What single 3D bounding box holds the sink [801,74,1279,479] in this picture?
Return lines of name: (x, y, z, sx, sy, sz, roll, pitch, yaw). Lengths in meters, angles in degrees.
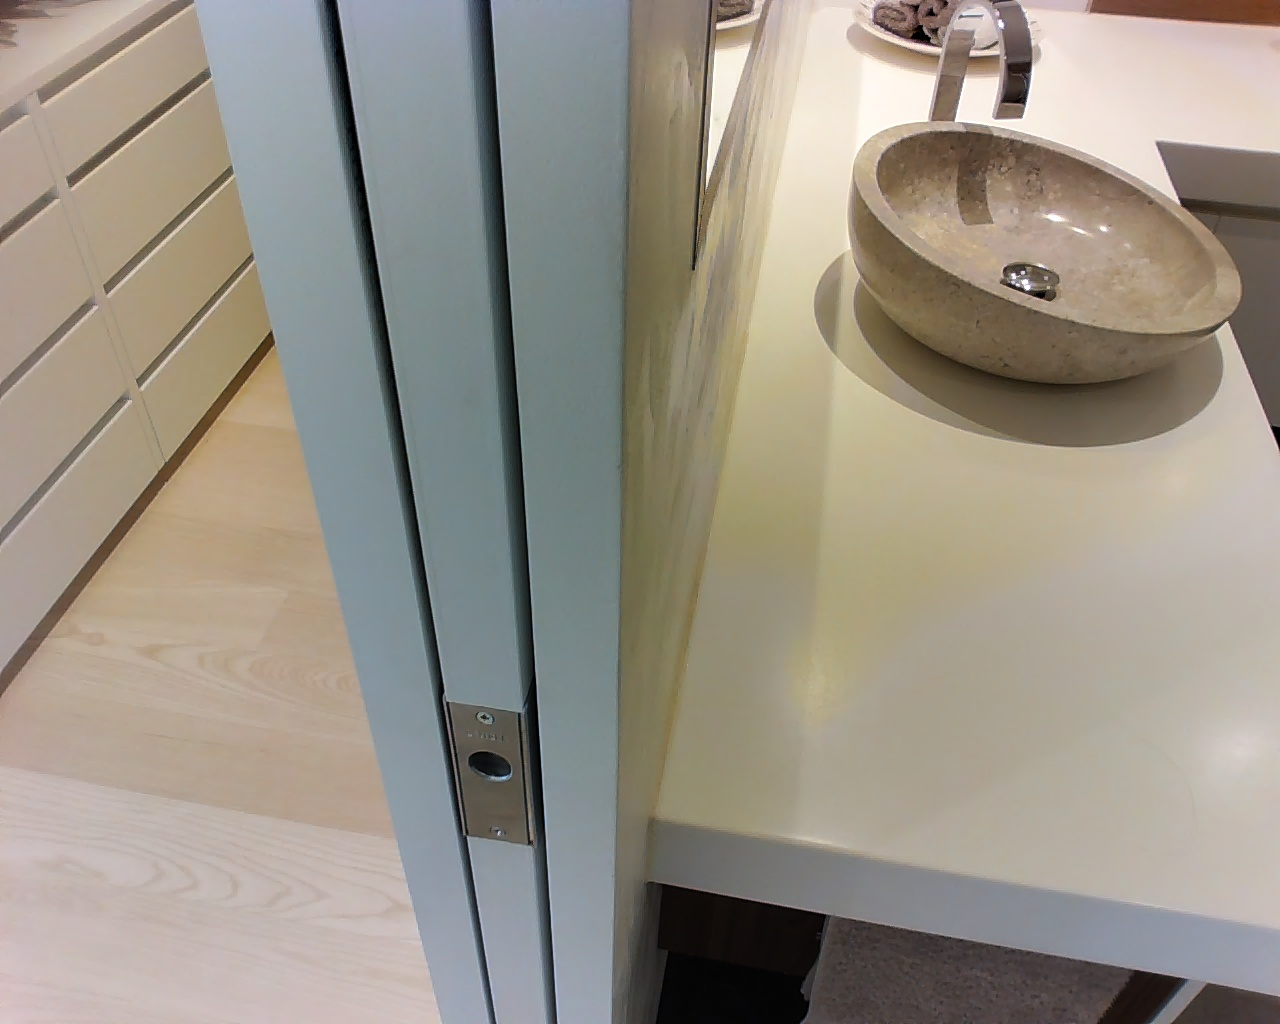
sink: (0.450, -0.290, 1.200, 0.470, 0.170, 0.480, 9, 44, 8)
